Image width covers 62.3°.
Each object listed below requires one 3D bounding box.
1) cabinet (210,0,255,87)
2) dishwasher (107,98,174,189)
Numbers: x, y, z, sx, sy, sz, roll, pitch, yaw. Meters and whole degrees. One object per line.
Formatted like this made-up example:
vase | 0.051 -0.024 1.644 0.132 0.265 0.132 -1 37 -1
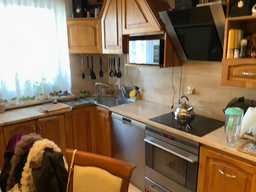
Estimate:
cabinet | 1.000 -0.730 1.600 0.390 1.260 0.490 -12 18 -41
dishwasher | 0.150 0.540 2.690 0.580 0.850 0.590 -12 18 -41
